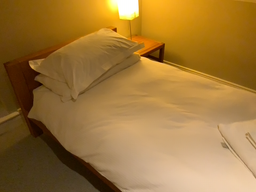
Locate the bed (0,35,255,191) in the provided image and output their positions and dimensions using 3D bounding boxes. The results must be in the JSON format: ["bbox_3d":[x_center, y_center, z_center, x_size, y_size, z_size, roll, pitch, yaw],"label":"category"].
[{"bbox_3d":[0.250,0.210,1.500,2.090,0.560,1.170,25,43,33],"label":"bed"}]

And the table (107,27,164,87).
[{"bbox_3d":[0.100,-0.490,2.570,0.440,0.480,0.500,24,43,32],"label":"table"}]

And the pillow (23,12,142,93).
[{"bbox_3d":[-0.310,-0.390,1.660,0.450,0.290,0.760,29,45,34],"label":"pillow"}]
